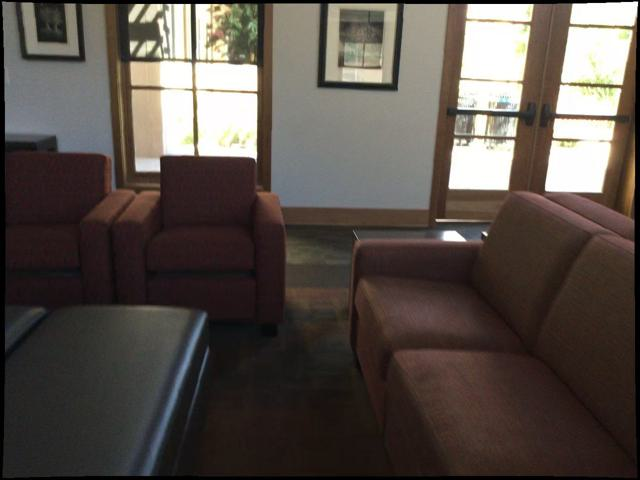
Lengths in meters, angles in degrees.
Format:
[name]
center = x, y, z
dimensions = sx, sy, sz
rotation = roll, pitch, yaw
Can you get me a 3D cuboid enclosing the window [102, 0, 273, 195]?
[window]
center = -1.019, -1.371, 4.620
dimensions = 1.229, 1.902, 0.460
rotation = 3, 19, -5
